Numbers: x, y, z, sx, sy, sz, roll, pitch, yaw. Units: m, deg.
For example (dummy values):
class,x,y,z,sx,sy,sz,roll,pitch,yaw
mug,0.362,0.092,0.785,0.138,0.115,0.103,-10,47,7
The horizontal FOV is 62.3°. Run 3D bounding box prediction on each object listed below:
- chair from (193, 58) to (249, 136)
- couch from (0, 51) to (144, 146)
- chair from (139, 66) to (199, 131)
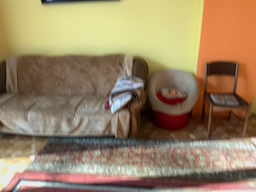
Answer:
class,x,y,z,sx,sy,sz,roll,pitch,yaw
chair,1.150,-0.010,2.760,0.460,0.850,0.540,2,22,10
couch,-0.980,-0.070,2.970,2.310,0.940,1.030,2,22,9
chair,0.540,0.000,2.960,0.710,0.710,0.620,1,22,8
